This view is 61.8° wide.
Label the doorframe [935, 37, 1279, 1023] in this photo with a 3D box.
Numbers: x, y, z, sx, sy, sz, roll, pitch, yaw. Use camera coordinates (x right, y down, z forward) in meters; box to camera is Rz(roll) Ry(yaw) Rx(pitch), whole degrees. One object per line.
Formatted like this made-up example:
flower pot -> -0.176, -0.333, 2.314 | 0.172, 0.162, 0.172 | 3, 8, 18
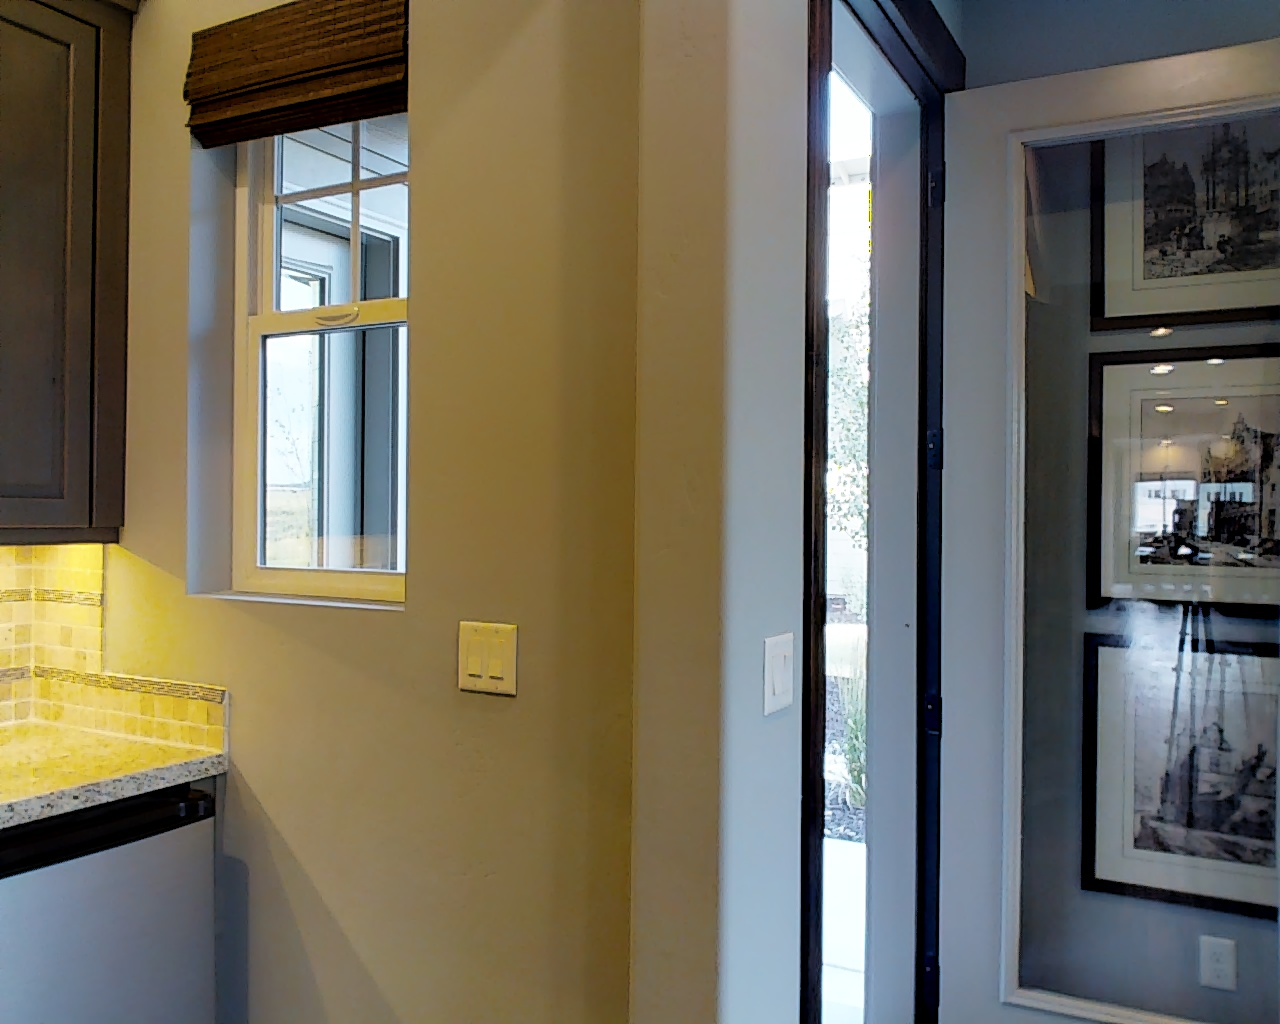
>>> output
doorframe -> 1.170, 0.190, 2.450 | 0.930, 2.410, 0.140 | 0, -1, 29
